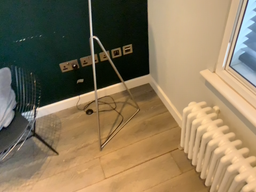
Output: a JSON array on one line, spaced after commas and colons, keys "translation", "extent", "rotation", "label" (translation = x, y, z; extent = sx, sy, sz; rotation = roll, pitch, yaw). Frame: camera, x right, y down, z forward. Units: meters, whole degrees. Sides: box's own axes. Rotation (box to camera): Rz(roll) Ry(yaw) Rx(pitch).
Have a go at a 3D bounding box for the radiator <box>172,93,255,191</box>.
[{"translation": [0.540, 0.530, 1.030], "extent": [0.140, 0.520, 1.070], "rotation": [-17, 45, -10], "label": "radiator"}]
